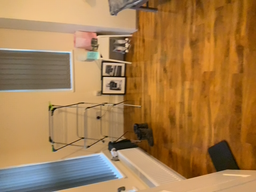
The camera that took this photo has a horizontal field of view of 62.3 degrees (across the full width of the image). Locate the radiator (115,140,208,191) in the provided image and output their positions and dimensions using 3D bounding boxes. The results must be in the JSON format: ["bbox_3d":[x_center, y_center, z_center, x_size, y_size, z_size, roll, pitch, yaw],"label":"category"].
[{"bbox_3d":[0.250,0.780,2.340,1.480,0.280,0.110,-165,75,-65],"label":"radiator"}]

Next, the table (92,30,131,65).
[{"bbox_3d":[-0.280,-0.790,3.560,0.400,0.540,0.480,-168,78,-66],"label":"table"}]
